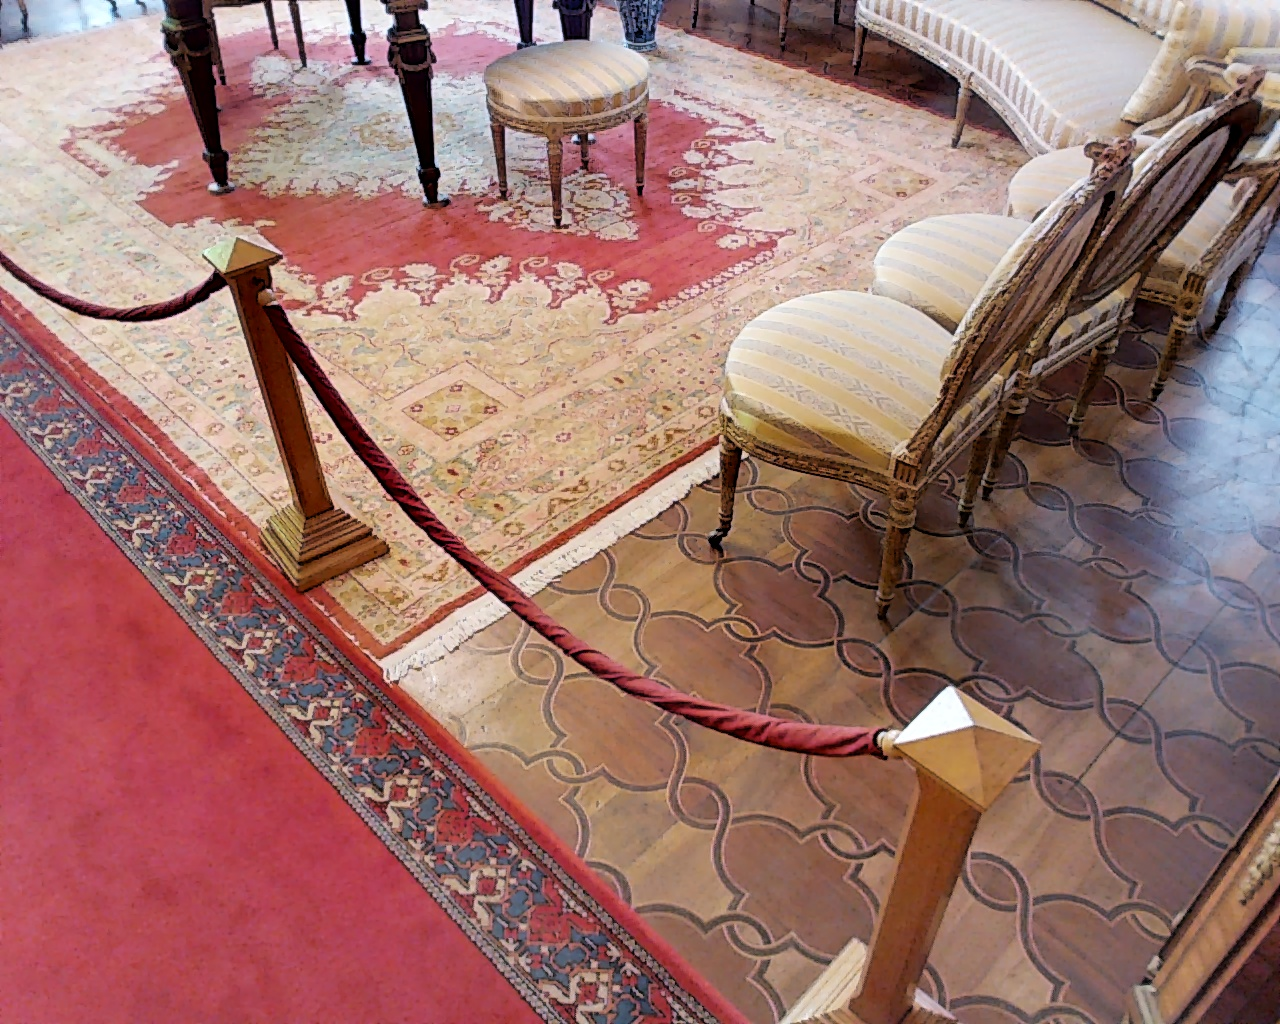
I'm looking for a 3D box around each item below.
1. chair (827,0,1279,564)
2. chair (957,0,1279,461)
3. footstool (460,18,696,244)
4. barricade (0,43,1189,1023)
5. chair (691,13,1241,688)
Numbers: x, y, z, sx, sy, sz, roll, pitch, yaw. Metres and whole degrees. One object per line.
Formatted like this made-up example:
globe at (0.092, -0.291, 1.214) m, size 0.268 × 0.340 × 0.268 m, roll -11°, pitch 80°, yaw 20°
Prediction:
chair at (0.960, -0.580, 2.490) m, size 0.590 × 1.050 × 0.720 m, roll -32°, pitch 50°, yaw -31°
chair at (1.500, -0.920, 2.830) m, size 0.840 × 1.120 × 0.750 m, roll 29°, pitch 49°, yaw 29°
footstool at (-0.210, -1.360, 3.790) m, size 0.550 × 0.490 × 0.580 m, roll -32°, pitch 50°, yaw -31°
barricade at (-1.210, -0.490, 2.610) m, size 4.700 × 0.800 × 0.360 m, roll 31°, pitch 50°, yaw 31°
chair at (0.570, -0.330, 2.200) m, size 0.590 × 1.040 × 0.690 m, roll -32°, pitch 50°, yaw -31°
